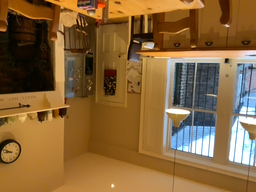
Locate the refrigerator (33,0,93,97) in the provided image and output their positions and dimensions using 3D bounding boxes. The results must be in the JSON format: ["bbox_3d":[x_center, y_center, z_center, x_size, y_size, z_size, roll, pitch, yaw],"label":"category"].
[{"bbox_3d":[-1.390,-0.950,4.600,0.780,1.790,0.950,7,-172,29],"label":"refrigerator"}]
